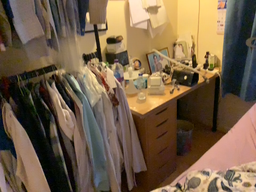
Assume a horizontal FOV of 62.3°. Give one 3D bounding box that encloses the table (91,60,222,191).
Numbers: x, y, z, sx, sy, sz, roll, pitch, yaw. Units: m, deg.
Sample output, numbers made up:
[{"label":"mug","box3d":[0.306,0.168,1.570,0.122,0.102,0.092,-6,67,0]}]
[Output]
[{"label":"table","box3d":[0.350,0.190,2.110,1.210,0.740,0.560,-26,32,-37]}]
